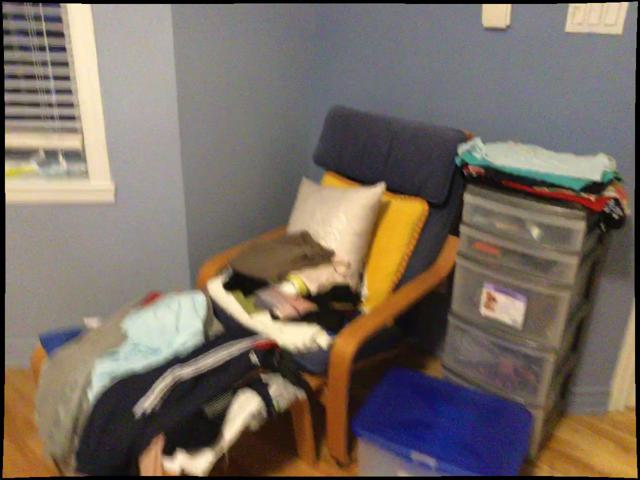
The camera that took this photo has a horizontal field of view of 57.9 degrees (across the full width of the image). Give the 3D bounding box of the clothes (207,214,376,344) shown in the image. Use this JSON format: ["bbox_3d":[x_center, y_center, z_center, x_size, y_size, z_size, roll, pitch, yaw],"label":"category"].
[{"bbox_3d":[-0.090,0.100,1.810,0.430,0.190,0.300,19,31,37],"label":"clothes"}]

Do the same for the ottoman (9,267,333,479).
[{"bbox_3d":[-0.430,0.480,1.730,0.740,0.430,0.570,19,31,37],"label":"ottoman"}]

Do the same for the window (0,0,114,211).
[{"bbox_3d":[-0.999,-0.761,1.810,0.440,1.331,0.240,-2,24,-5],"label":"window"}]
